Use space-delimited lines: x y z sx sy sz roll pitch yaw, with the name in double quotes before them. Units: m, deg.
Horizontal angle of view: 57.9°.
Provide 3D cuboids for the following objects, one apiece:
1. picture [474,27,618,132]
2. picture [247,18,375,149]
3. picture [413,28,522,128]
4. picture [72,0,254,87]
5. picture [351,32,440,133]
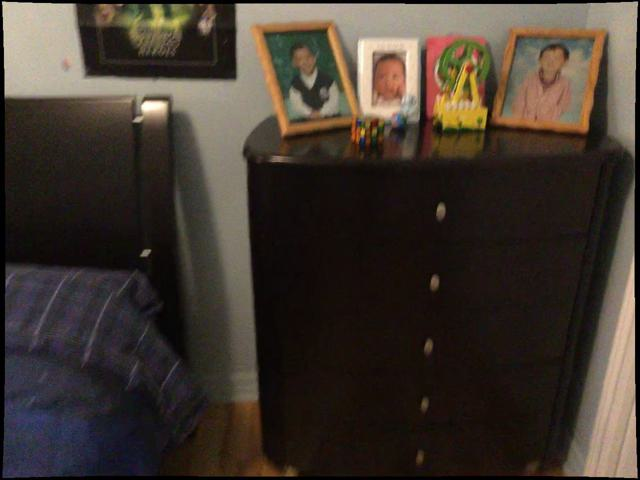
"picture" 0.579 -0.430 1.530 0.260 0.220 0.240 -2 26 -1
"picture" -0.020 -0.410 1.490 0.290 0.270 0.270 -2 26 -1
"picture" 0.390 -0.440 1.570 0.240 0.230 0.150 -2 26 -1
"picture" -0.420 -0.691 1.500 0.450 0.550 0.060 -2 26 -1
"picture" 0.190 -0.420 1.530 0.200 0.220 0.200 -2 26 -1
